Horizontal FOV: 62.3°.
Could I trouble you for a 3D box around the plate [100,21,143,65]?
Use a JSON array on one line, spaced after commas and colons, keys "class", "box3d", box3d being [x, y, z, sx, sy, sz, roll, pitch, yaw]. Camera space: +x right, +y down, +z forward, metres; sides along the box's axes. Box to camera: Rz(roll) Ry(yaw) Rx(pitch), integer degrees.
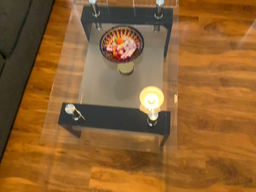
[{"class": "plate", "box3d": [-0.030, -0.250, 1.000, 0.190, 0.080, 0.180, -4, 68, 1]}]
